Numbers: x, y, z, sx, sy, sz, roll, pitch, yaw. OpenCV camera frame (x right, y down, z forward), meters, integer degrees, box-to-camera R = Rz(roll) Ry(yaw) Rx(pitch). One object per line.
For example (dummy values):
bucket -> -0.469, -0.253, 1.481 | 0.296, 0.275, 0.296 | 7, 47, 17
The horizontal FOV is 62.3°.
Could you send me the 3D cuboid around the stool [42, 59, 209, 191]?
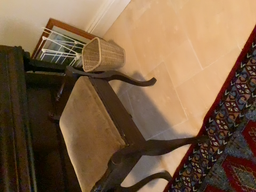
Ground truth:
stool -> -0.040, 0.180, 1.150 | 0.550, 0.600, 0.430 | 55, 126, 36
